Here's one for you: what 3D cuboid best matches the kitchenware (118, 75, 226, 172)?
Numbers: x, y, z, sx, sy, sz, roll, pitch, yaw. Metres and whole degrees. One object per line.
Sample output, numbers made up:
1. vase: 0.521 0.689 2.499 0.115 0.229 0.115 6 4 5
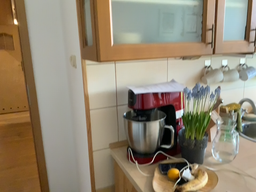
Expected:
1. kitchenware: 0.210 0.100 1.160 0.400 0.360 0.410 -7 14 -22
